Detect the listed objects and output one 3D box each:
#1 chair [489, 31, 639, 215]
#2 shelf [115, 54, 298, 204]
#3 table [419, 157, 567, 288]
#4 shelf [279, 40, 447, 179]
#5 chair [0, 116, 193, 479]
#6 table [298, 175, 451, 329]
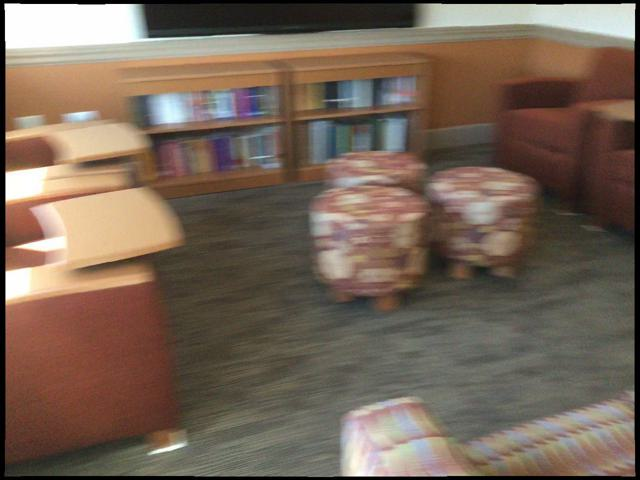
[{"bbox_3d":[1.677,-0.752,3.470,0.809,0.851,0.870,-6,28,-16],"label":"chair"},{"bbox_3d":[-0.679,-0.701,3.540,0.988,0.721,0.430,-9,29,-17],"label":"shelf"},{"bbox_3d":[0.768,-0.100,2.650,0.419,0.391,0.450,-10,29,-19],"label":"table"},{"bbox_3d":[0.269,-0.882,3.830,0.998,0.751,0.370,-9,29,-17],"label":"shelf"},{"bbox_3d":[-0.938,0.170,1.770,0.868,0.801,0.890,-10,29,-18],"label":"chair"},{"bbox_3d":[0.210,0.030,2.450,0.479,0.431,0.440,-10,29,-18],"label":"table"}]
